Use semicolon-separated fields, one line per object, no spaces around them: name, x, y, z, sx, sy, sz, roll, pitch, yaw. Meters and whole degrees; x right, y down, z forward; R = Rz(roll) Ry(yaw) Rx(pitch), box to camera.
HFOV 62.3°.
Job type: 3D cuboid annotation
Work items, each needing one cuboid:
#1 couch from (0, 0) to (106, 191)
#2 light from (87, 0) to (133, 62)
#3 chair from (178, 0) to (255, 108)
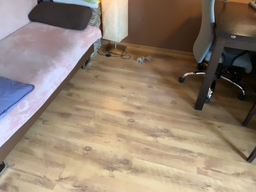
couch;-1.020;-0.320;1.850;1.010;0.750;2.080;11;40;10
light;-0.200;-1.170;2.440;0.440;1.520;0.330;13;40;11
chair;0.910;-0.440;1.970;0.680;0.940;0.430;11;40;9
